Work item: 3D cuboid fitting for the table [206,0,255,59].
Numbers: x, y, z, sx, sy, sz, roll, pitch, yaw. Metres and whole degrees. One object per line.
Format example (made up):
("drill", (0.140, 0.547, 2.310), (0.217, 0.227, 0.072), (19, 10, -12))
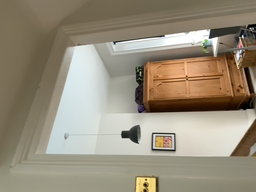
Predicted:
("table", (1.660, -1.160, 3.250), (0.980, 0.720, 0.630), (65, -154, -58))

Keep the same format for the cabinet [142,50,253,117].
("cabinet", (1.340, -0.220, 4.470), (0.640, 1.980, 1.130), (64, -153, -60))
